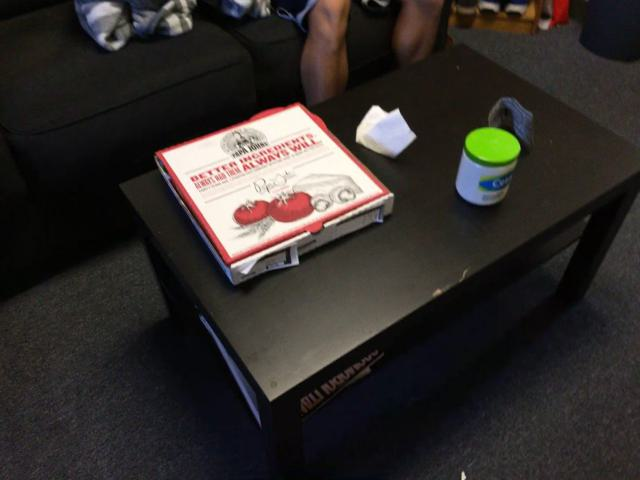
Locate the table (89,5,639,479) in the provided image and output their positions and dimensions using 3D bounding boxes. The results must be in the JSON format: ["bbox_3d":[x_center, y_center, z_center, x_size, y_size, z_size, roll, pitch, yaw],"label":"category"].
[{"bbox_3d":[0.130,-0.010,1.250,0.900,0.570,0.590,-29,52,-25],"label":"table"}]

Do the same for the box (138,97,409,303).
[{"bbox_3d":[-0.090,-0.100,1.060,0.340,0.070,0.360,-29,52,-25],"label":"box"}]

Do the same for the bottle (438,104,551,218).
[{"bbox_3d":[0.300,-0.140,1.010,0.130,0.120,0.110,-29,52,-25],"label":"bottle"}]
